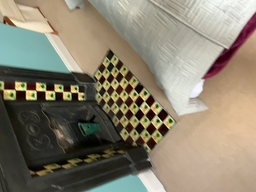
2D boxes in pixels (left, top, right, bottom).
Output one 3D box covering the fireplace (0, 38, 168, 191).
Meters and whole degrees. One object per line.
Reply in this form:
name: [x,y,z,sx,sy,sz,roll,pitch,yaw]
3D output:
fireplace: [-0.590,0.160,1.380,1.240,1.330,0.390,51,119,29]
